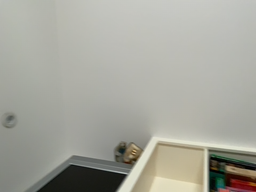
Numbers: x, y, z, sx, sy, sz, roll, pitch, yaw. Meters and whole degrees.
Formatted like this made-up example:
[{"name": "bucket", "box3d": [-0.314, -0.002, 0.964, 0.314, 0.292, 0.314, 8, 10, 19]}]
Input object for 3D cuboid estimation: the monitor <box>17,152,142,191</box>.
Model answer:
[{"name": "monitor", "box3d": [-0.300, 0.520, 1.010, 0.880, 0.510, 0.070, -26, -62, -68]}]
